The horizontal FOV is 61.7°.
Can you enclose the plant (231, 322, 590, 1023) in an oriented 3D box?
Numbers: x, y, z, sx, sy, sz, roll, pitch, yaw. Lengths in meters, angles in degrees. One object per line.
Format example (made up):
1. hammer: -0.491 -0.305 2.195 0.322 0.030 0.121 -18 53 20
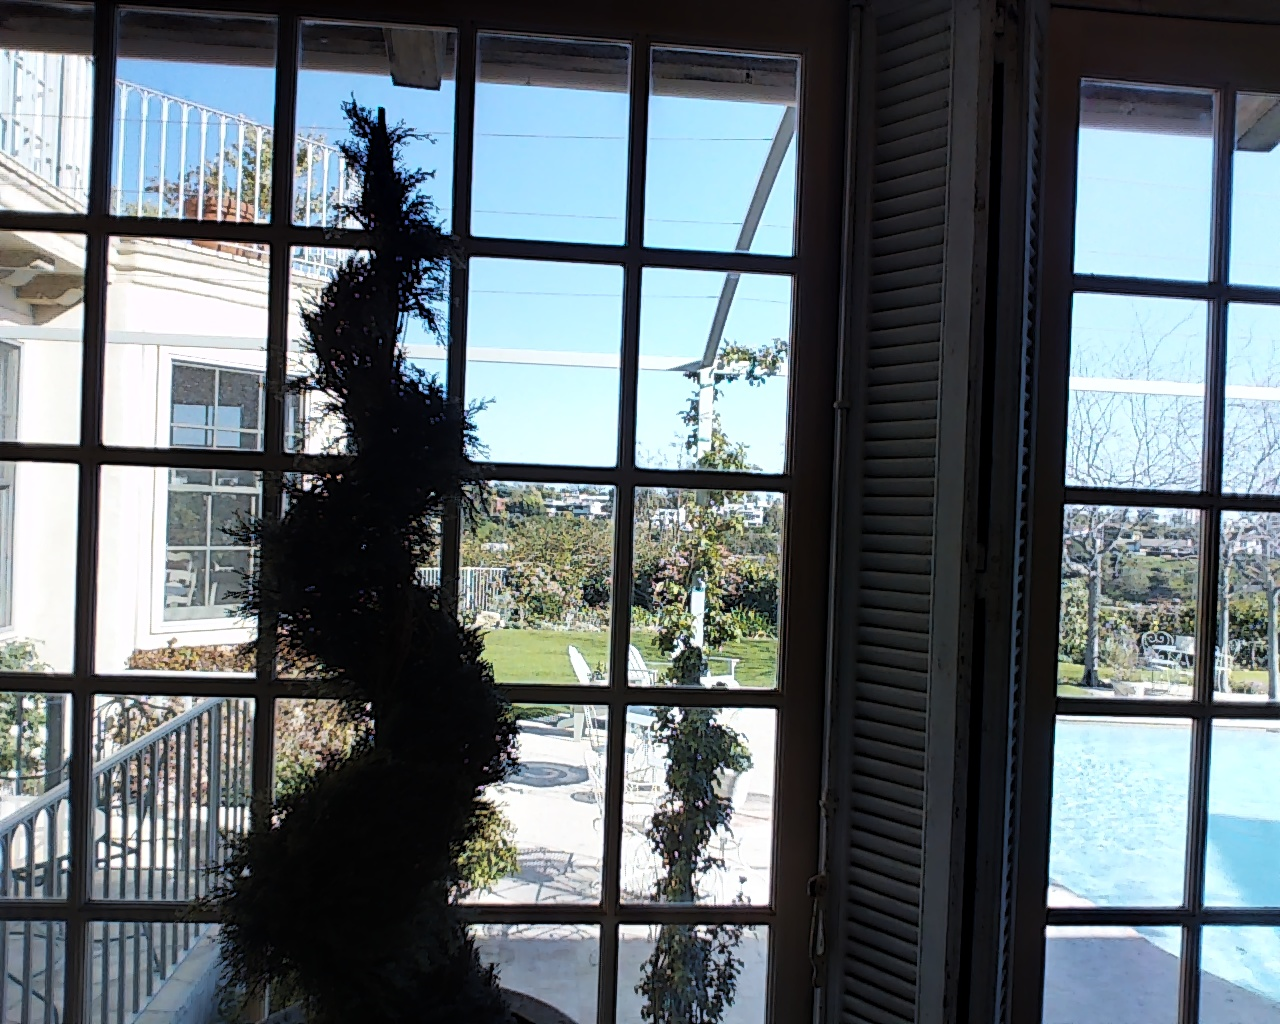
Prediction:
1. plant: -0.260 0.250 1.290 0.340 0.880 0.350 2 1 -7
